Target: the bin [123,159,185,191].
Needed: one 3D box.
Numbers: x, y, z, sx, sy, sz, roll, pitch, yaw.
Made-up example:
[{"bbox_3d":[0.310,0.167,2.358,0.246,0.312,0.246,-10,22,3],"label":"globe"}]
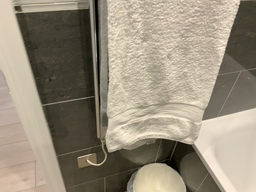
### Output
[{"bbox_3d":[0.140,0.560,1.190,0.260,0.250,0.260,-8,44,-15],"label":"bin"}]
